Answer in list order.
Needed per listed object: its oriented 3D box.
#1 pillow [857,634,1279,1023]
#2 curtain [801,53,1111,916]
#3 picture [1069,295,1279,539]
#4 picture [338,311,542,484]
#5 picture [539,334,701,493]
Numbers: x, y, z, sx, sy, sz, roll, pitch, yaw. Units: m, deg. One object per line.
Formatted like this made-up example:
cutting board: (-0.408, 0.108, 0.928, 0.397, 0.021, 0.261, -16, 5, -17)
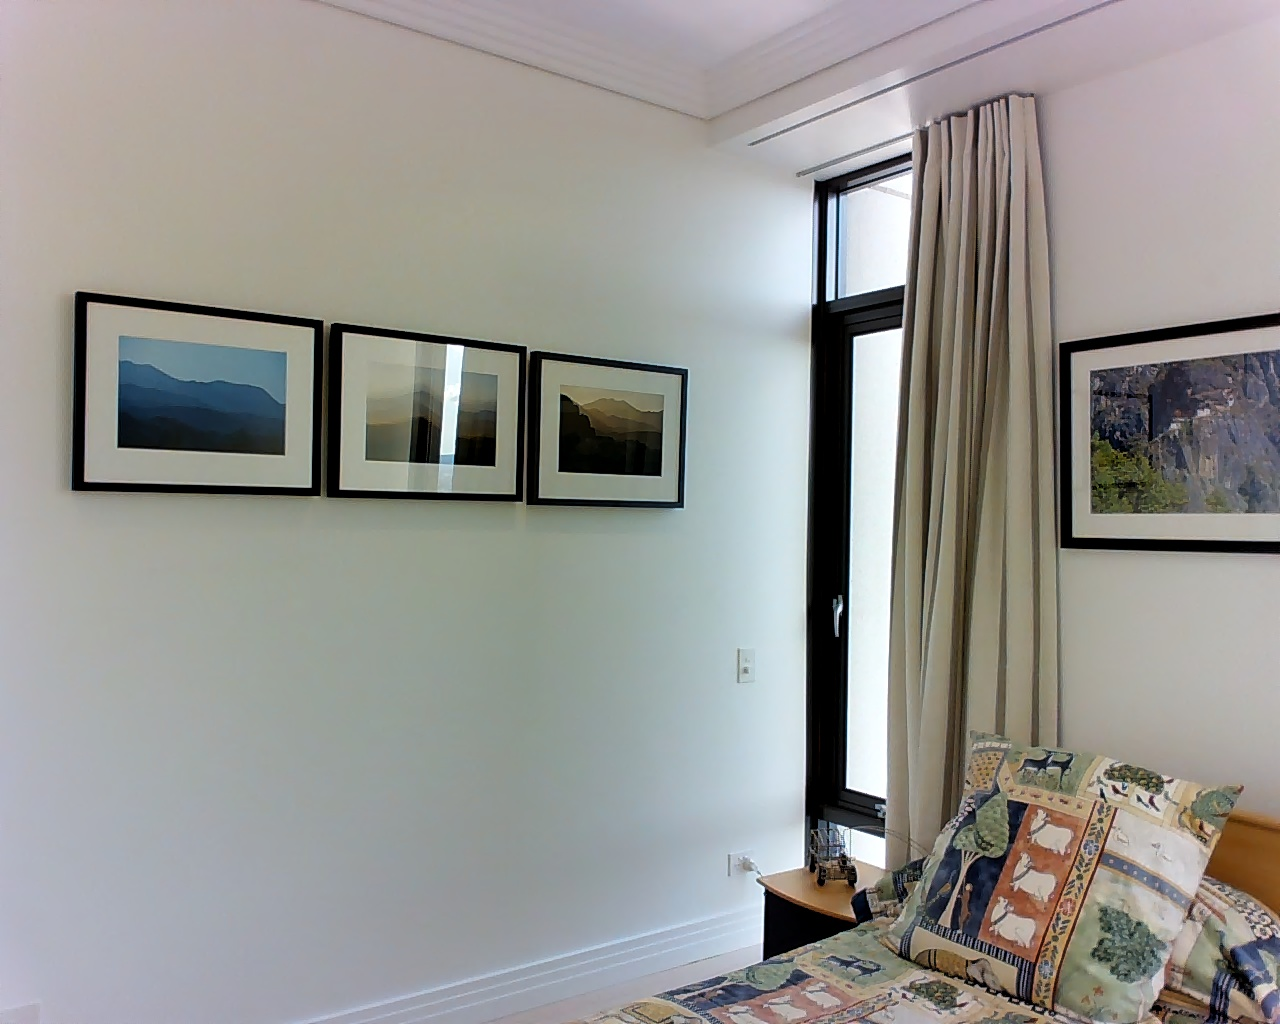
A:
pillow: (0.870, 0.710, 2.270, 0.230, 0.600, 0.650, 0, 41, -36)
curtain: (0.890, -0.070, 3.170, 0.250, 2.261, 0.710, 0, 5, -36)
picture: (1.400, -0.220, 2.610, 0.050, 0.560, 0.750, 0, 1, -36)
picture: (-0.520, -0.290, 2.870, 0.560, 0.420, 0.060, 0, 1, -36)
picture: (-0.050, -0.280, 3.210, 0.550, 0.440, 0.050, 0, 1, -36)
